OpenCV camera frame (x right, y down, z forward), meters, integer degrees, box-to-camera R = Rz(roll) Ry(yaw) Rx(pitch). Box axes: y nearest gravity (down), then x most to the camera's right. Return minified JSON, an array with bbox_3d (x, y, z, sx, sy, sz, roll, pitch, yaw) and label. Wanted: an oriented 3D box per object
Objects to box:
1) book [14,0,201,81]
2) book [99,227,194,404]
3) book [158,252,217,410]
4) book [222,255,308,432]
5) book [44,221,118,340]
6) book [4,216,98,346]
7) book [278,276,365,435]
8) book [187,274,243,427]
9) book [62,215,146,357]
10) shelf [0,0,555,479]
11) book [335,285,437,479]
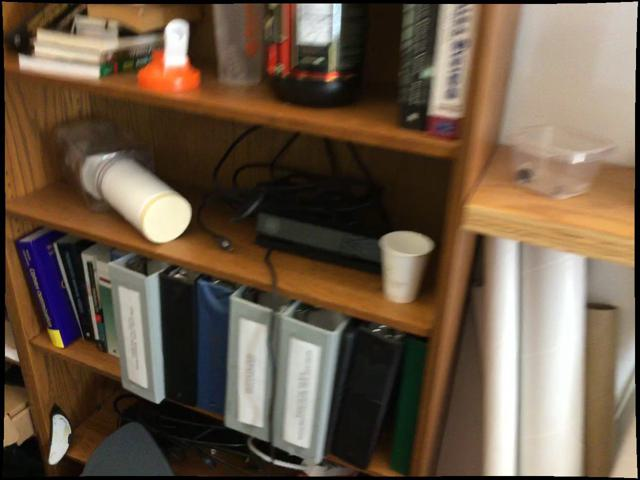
[{"bbox_3d":[-0.380,-0.380,1.070,0.230,0.090,0.220,13,31,15],"label":"book"},{"bbox_3d":[-0.330,0.150,1.130,0.110,0.320,0.110,13,31,15],"label":"book"},{"bbox_3d":[-0.250,0.180,1.110,0.070,0.310,0.070,13,31,15],"label":"book"},{"bbox_3d":[-0.100,0.190,1.050,0.110,0.290,0.110,13,31,15],"label":"book"},{"bbox_3d":[-0.519,0.090,1.270,0.090,0.240,0.080,13,31,15],"label":"book"},{"bbox_3d":[-0.579,0.090,1.260,0.110,0.250,0.100,13,31,15],"label":"book"},{"bbox_3d":[0.000,0.200,1.000,0.110,0.240,0.100,13,31,15],"label":"book"},{"bbox_3d":[-0.190,0.210,1.070,0.080,0.300,0.050,13,31,15],"label":"book"},{"bbox_3d":[-0.450,0.100,1.220,0.110,0.280,0.080,13,31,15],"label":"book"},{"bbox_3d":[-0.200,0.190,1.190,0.949,1.501,0.460,13,31,15],"label":"shelf"},{"bbox_3d":[0.110,0.250,1.000,0.120,0.320,0.100,13,31,15],"label":"book"}]
